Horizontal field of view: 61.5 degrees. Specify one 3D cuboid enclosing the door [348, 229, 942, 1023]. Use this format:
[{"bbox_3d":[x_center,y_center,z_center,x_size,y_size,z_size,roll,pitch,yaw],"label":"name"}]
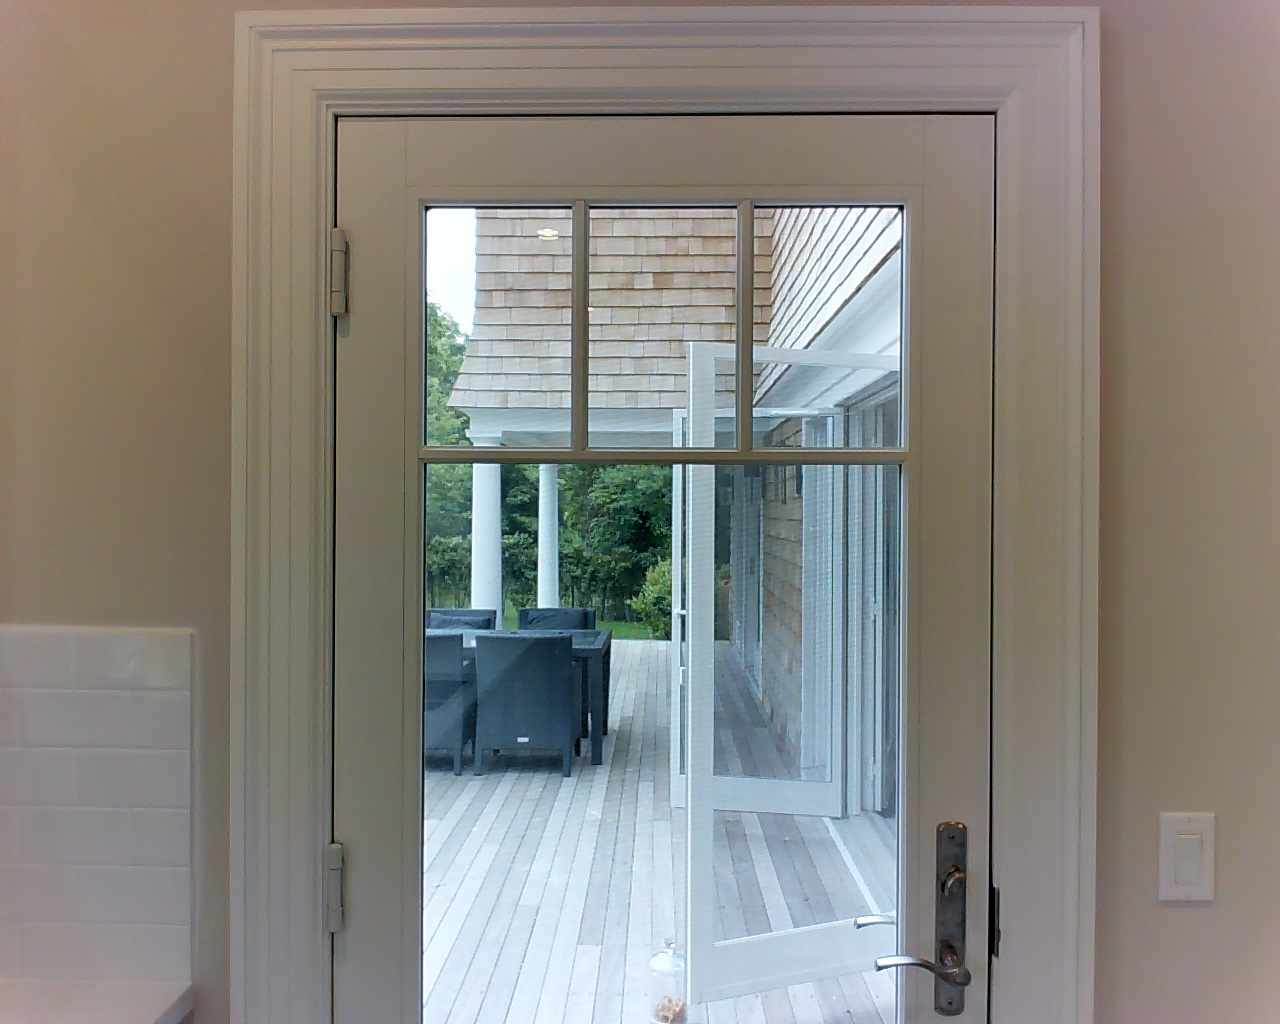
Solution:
[{"bbox_3d":[0.000,0.590,1.410,0.760,1.910,0.030,1,0,1],"label":"door"}]
